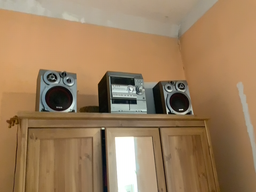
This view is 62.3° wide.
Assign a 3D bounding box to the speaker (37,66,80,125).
[{"bbox_3d":[-0.460,0.000,1.380,0.220,0.320,0.210,-2,-17,-25],"label":"speaker"}]

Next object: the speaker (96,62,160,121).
[{"bbox_3d":[-0.020,-0.010,1.570,0.320,0.320,0.370,3,-18,-24],"label":"speaker"}]

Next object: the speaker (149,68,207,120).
[{"bbox_3d":[0.400,0.000,1.780,0.280,0.330,0.340,2,-18,-23],"label":"speaker"}]
